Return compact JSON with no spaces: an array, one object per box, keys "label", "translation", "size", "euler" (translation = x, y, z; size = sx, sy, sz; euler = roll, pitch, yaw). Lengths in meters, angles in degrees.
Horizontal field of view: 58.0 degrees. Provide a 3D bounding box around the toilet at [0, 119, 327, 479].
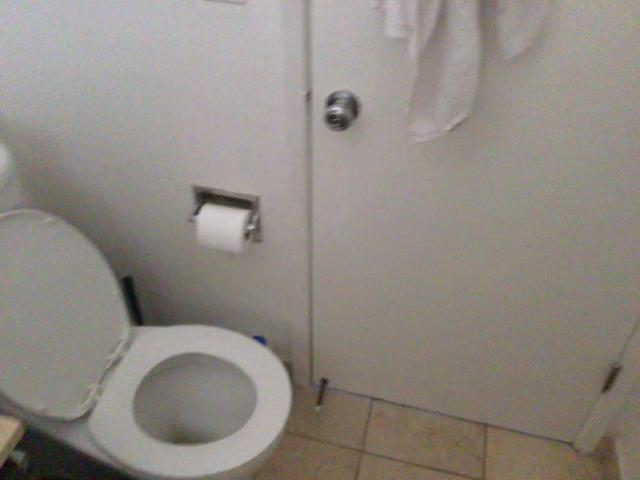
[{"label":"toilet","translation":[-0.420,0.270,1.200],"size":[0.750,0.810,0.520],"euler":[9,42,12]}]
